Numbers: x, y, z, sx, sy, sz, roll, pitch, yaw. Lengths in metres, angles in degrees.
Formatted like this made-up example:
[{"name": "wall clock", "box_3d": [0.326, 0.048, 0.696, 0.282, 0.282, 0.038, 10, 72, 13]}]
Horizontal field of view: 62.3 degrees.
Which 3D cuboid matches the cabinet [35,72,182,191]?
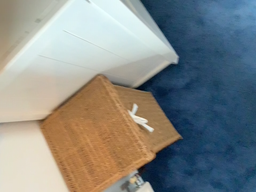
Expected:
[{"name": "cabinet", "box_3d": [-0.040, 0.160, 0.930, 0.330, 0.500, 0.330, -37, 74, 18]}]
